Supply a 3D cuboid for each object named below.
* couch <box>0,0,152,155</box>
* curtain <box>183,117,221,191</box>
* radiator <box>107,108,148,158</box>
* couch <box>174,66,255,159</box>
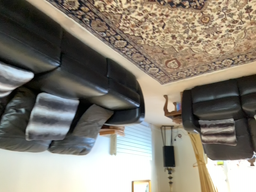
[{"bbox_3d":[-0.820,0.010,2.130,1.200,0.960,2.150,-13,157,32],"label":"couch"},{"bbox_3d":[1.780,1.830,5.050,0.670,2.590,0.230,-12,157,31],"label":"curtain"},{"bbox_3d":[0.040,0.840,4.520,0.120,0.860,1.360,-12,157,31],"label":"radiator"},{"bbox_3d":[1.600,0.320,2.980,1.510,1.010,1.090,-12,157,31],"label":"couch"}]
